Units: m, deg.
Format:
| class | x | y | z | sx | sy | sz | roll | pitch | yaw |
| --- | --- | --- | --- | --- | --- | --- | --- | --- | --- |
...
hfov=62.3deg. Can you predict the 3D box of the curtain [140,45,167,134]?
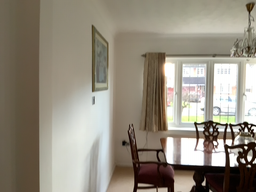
| class | x | y | z | sx | sy | sz | roll | pitch | yaw |
| --- | --- | --- | --- | --- | --- | --- | --- | --- | --- |
| curtain | 0.460 | -0.110 | 3.810 | 0.450 | 1.560 | 0.160 | 1 | 2 | 6 |
